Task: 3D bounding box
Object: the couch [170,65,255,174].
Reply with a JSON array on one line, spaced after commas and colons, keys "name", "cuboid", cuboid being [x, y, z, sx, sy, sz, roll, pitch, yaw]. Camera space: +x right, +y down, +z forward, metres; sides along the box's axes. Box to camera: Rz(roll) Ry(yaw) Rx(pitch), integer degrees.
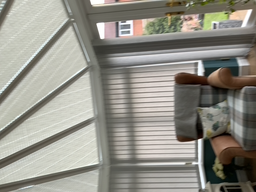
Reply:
[{"name": "couch", "cuboid": [1.030, 0.180, 2.350, 0.870, 0.980, 0.980, -61, -32, -81]}]
